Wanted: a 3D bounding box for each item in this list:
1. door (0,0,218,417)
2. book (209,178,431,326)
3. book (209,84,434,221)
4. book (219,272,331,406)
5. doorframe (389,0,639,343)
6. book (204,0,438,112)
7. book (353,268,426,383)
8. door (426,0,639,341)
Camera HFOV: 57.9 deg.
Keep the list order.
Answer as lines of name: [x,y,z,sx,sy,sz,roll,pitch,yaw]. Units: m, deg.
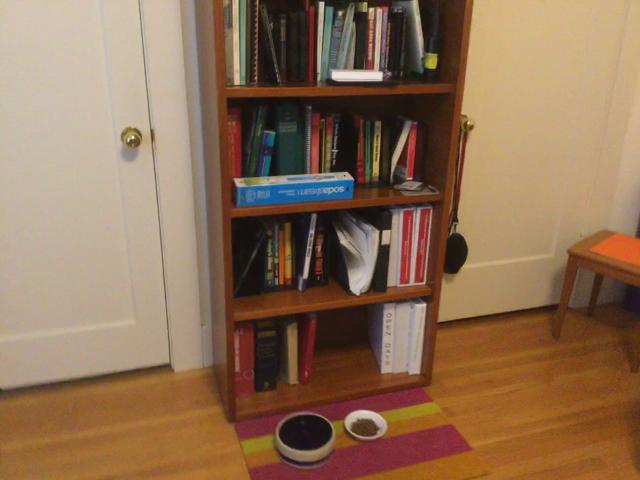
door: [-0.820,-0.390,1.620,0.870,1.980,0.090,-9,25,-17]
book: [0.000,0.020,1.960,0.670,0.310,0.290,-9,25,-17]
book: [0.010,-0.300,1.880,0.670,0.330,0.220,-9,25,-17]
book: [-0.160,0.340,2.050,0.320,0.320,0.270,-9,25,-17]
doorframe: [0.830,-0.640,2.170,1.180,2.100,0.060,-9,25,-17]
book: [0.000,-0.610,1.720,0.620,0.350,0.290,-9,25,-17]
book: [0.250,0.310,2.160,0.150,0.300,0.290,-9,25,-17]
door: [0.830,-0.560,2.210,0.800,1.990,0.080,-9,25,-17]
